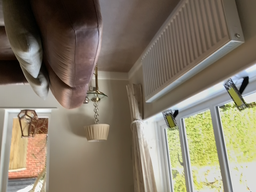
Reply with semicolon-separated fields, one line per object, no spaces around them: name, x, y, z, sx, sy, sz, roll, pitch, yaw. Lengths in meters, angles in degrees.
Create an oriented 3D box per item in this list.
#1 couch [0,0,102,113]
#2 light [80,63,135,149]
couch;-0.810;-0.440;1.650;0.940;0.870;1.430;2;163;-18
light;-0.340;0.160;3.220;0.720;1.200;0.380;2;163;-19
